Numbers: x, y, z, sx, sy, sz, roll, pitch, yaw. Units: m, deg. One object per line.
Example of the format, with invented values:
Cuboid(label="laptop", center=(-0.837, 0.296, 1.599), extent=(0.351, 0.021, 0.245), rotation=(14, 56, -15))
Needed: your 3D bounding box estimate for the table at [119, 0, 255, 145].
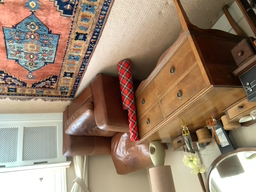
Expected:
Cuboid(label="table", center=(0.430, -0.130, 1.830), extent=(0.570, 0.770, 1.070), rotation=(2, 151, -25))

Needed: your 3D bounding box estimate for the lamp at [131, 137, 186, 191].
Cuboid(label="lamp", center=(0.250, 0.630, 1.870), extent=(0.270, 0.460, 0.280), rotation=(3, 151, -26))

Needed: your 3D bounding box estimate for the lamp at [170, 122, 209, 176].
Cuboid(label="lamp", center=(0.460, 0.400, 1.630), extent=(0.140, 0.370, 0.130), rotation=(2, 151, -24))

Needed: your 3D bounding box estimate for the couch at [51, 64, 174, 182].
Cuboid(label="couch", center=(-0.260, 0.390, 2.460), extent=(0.910, 0.900, 1.030), rotation=(11, 147, -37))
